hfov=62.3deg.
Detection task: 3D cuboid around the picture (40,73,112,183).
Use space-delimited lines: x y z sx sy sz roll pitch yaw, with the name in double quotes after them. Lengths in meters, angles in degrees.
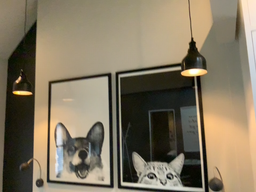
-0.530 0.310 2.110 0.720 0.990 0.140 -5 -8 19 "picture"
